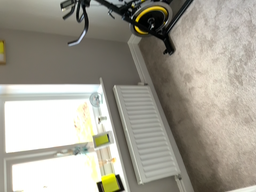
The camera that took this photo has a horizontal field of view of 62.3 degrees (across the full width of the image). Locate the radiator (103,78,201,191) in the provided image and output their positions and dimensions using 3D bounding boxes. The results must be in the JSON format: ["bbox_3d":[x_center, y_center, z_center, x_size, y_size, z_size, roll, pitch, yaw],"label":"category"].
[{"bbox_3d":[0.220,0.310,2.210,0.150,0.700,1.120,-53,48,48],"label":"radiator"}]

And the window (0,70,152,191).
[{"bbox_3d":[-0.740,0.460,1.860,0.400,1.590,1.410,-54,47,47],"label":"window"}]
